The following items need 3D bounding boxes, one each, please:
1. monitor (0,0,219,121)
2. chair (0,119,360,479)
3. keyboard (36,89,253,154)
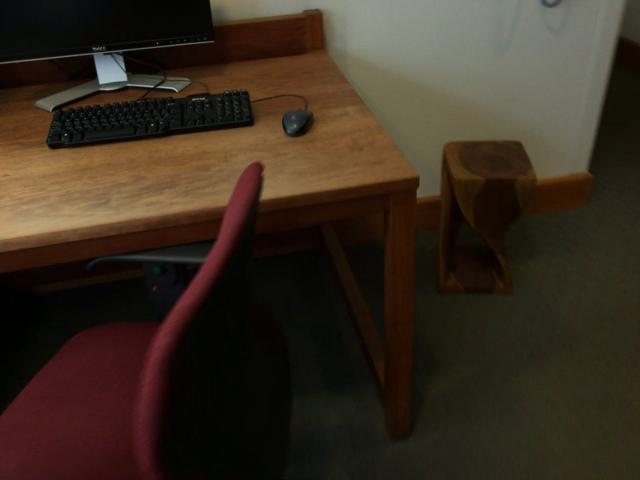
[{"bbox_3d":[-0.570,-0.590,1.410,0.560,0.480,0.250,-9,30,-9],"label":"monitor"},{"bbox_3d":[-0.270,0.360,0.940,0.650,0.920,0.620,-1,30,4],"label":"chair"},{"bbox_3d":[-0.380,-0.270,1.290,0.440,0.050,0.150,-9,30,-9],"label":"keyboard"}]
